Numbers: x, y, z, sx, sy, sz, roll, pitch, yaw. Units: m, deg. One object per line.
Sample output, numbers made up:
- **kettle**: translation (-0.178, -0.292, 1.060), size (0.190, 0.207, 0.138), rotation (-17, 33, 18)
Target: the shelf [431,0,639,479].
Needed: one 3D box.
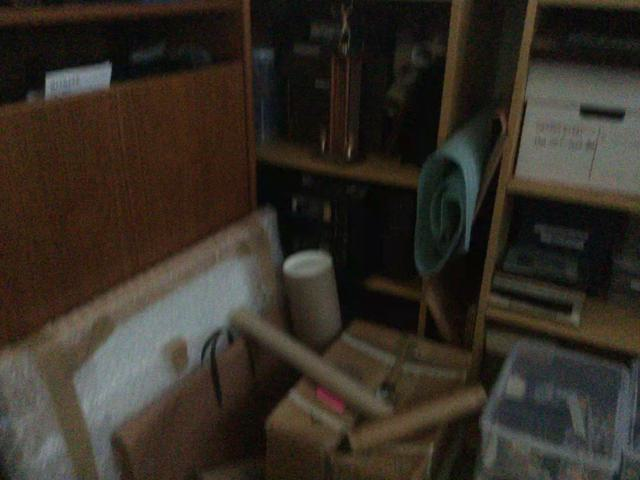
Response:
- **shelf**: translation (0.890, 0.080, 1.440), size (0.970, 1.340, 0.630), rotation (11, 26, 23)

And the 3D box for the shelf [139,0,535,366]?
- **shelf**: translation (0.070, -0.290, 1.680), size (0.870, 0.900, 0.620), rotation (11, 26, 23)

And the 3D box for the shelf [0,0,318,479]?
- **shelf**: translation (-0.570, -0.160, 1.180), size (0.800, 1.920, 0.940), rotation (11, 26, 23)
